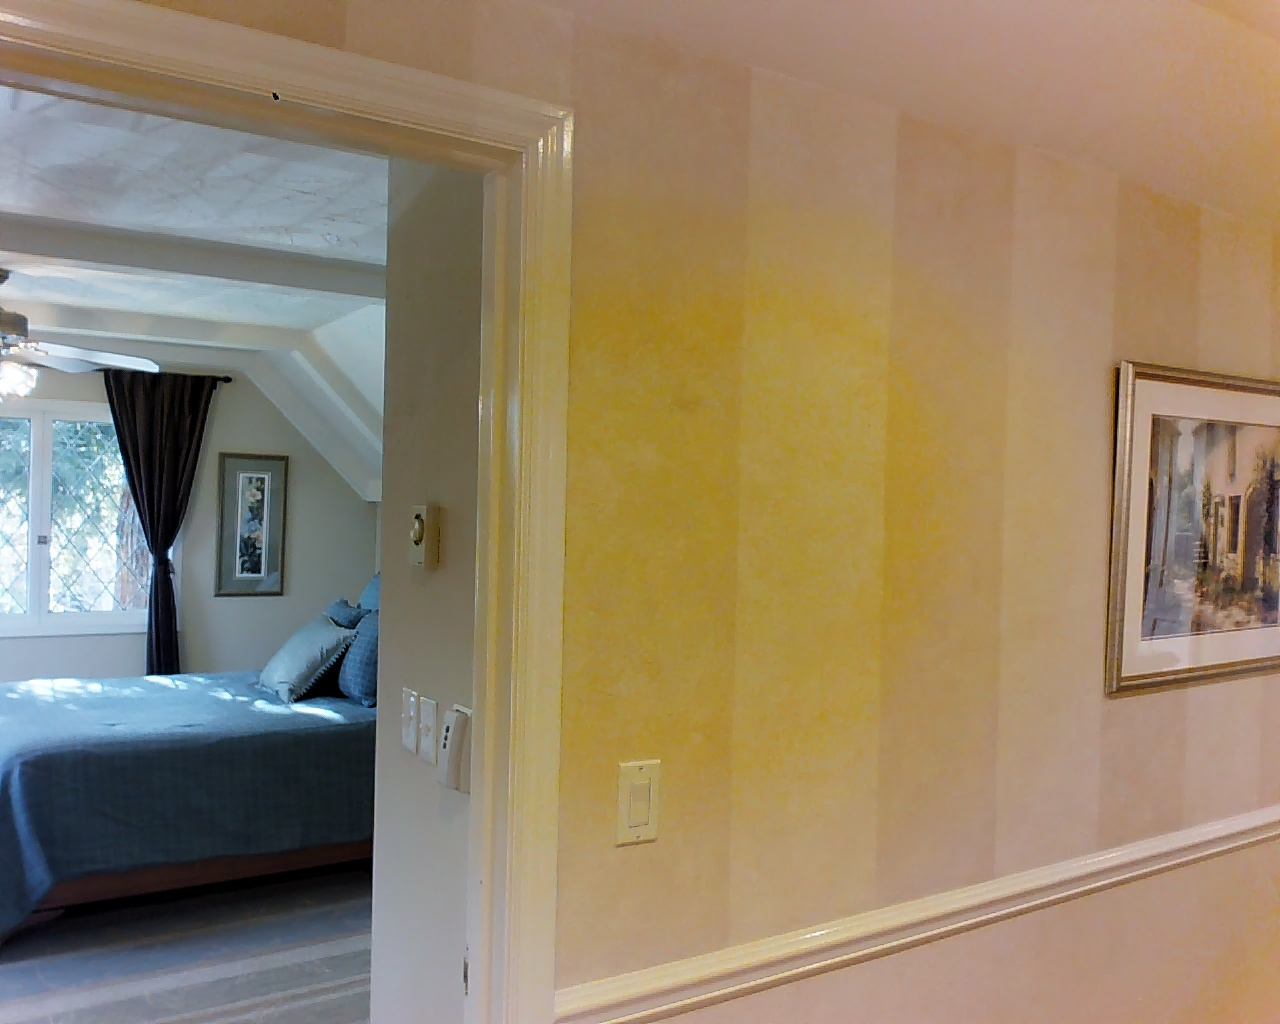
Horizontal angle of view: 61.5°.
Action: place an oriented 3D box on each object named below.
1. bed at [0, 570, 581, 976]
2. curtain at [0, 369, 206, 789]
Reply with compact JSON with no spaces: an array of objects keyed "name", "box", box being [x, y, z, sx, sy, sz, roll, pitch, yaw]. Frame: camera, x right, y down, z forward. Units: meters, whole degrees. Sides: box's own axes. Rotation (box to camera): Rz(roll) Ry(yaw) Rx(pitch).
[{"name":"bed","box":[-1.760,0.920,4.790,2.370,1.170,1.840,1,0,-33]},{"name":"curtain","box":[-3.539,0.350,5.650,2.300,2.200,0.250,1,0,-33]}]
